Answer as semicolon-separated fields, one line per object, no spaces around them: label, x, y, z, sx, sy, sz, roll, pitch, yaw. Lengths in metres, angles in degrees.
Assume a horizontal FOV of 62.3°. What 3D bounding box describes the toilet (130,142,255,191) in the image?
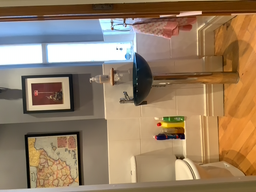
toilet;0.470;0.700;1.840;0.680;0.860;0.400;-164;71;-88
